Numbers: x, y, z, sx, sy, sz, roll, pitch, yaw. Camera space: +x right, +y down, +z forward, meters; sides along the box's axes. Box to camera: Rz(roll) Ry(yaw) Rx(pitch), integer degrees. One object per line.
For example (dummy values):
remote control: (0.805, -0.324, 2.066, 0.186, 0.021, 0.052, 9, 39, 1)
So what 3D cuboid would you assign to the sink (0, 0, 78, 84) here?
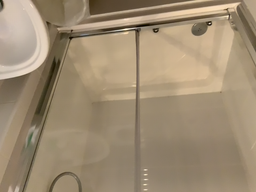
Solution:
sink: (-0.410, -0.260, 0.640, 0.340, 0.170, 0.450, -6, 141, 9)
